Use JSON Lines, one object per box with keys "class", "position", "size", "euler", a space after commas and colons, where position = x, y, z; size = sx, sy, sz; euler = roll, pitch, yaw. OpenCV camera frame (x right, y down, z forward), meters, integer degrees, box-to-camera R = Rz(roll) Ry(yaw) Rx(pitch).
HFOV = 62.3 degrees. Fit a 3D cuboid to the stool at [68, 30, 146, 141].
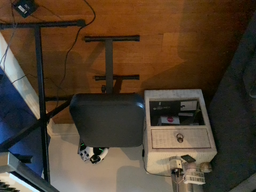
{"class": "stool", "position": [-0.080, -0.050, 1.200], "size": [0.330, 0.460, 0.420], "euler": [0, 144, 2]}
